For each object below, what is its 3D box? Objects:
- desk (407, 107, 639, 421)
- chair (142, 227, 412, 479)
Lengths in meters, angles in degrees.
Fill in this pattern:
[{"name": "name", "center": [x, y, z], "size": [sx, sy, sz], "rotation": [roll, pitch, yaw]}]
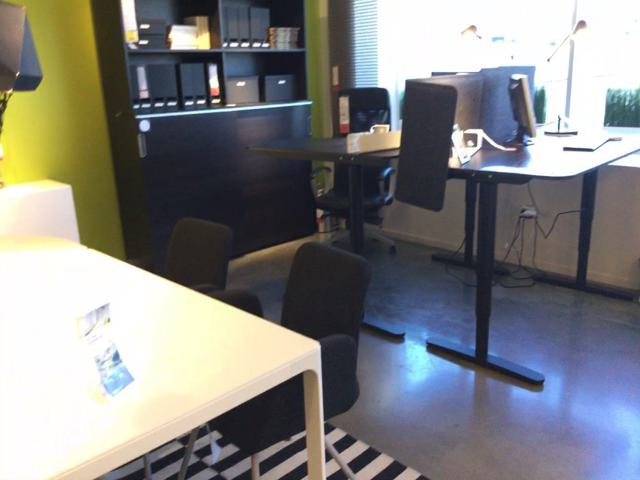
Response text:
[{"name": "desk", "center": [1.200, -0.030, 2.890], "size": [1.350, 1.200, 0.810], "rotation": [-12, 15, -39]}, {"name": "chair", "center": [-0.130, 0.470, 1.920], "size": [0.600, 0.890, 0.610], "rotation": [-12, 15, -39]}]
